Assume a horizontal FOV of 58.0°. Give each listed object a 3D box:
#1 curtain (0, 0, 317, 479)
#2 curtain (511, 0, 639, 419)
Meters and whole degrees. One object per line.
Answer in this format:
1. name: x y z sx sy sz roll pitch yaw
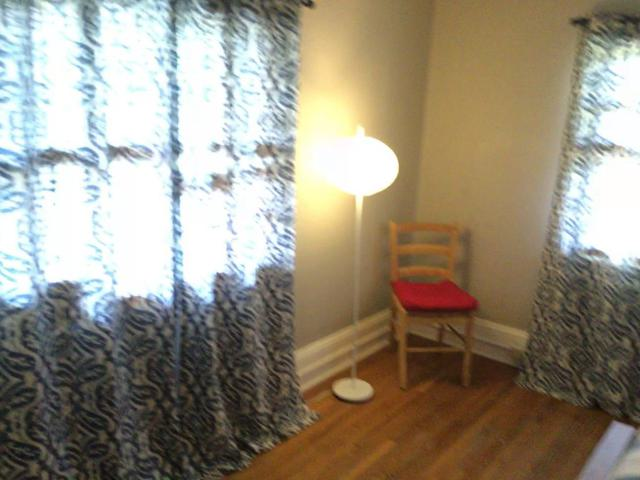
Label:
1. curtain: -0.570 0.020 2.260 0.210 2.130 1.480 11 17 38
2. curtain: 1.750 -0.160 2.630 1.560 2.140 0.250 12 18 41
